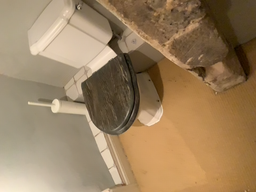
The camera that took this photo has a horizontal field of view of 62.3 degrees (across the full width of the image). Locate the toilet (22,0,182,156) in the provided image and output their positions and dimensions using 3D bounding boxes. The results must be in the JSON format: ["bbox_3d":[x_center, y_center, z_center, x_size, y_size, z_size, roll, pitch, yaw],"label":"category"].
[{"bbox_3d":[-0.140,-0.060,1.310,0.410,0.760,0.700,-34,62,26],"label":"toilet"}]
